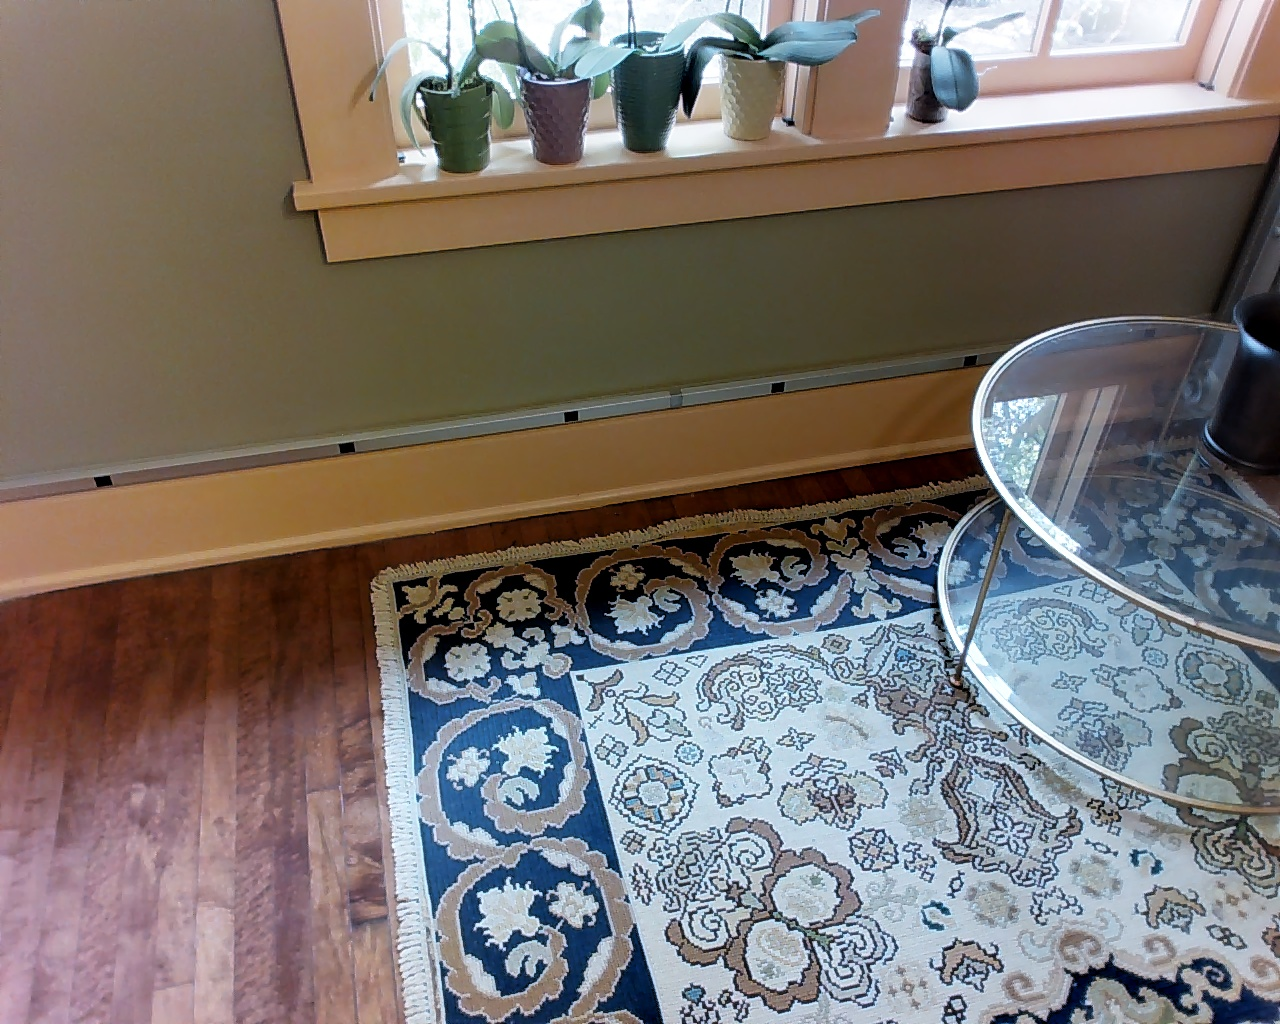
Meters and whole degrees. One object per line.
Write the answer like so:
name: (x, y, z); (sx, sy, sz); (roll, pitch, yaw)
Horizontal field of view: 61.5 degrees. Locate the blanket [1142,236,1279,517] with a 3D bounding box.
blanket: (1.070, -0.220, 1.790); (0.270, 0.340, 0.230); (32, 50, 30)
